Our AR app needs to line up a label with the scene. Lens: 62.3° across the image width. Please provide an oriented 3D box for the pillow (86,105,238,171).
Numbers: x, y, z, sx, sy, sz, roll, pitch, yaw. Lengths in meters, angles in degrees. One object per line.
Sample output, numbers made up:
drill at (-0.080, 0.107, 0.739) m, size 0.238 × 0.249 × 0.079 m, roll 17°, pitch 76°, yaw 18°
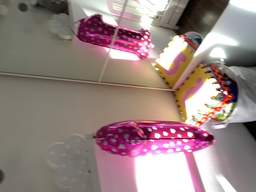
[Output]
pillow at (0.200, 0.220, 1.150) m, size 0.190 × 0.790 × 0.230 m, roll -62°, pitch 35°, yaw 39°
